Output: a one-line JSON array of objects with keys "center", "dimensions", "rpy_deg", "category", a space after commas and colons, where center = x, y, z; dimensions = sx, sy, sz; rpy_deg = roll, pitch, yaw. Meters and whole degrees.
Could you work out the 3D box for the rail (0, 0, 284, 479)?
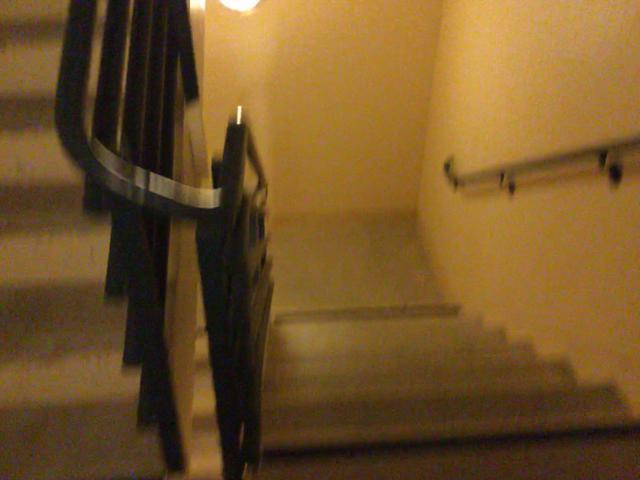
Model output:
[{"center": [-0.300, -0.420, 1.490], "dimensions": [0.320, 1.780, 1.830], "rpy_deg": [-3, 39, -4], "category": "rail"}]
